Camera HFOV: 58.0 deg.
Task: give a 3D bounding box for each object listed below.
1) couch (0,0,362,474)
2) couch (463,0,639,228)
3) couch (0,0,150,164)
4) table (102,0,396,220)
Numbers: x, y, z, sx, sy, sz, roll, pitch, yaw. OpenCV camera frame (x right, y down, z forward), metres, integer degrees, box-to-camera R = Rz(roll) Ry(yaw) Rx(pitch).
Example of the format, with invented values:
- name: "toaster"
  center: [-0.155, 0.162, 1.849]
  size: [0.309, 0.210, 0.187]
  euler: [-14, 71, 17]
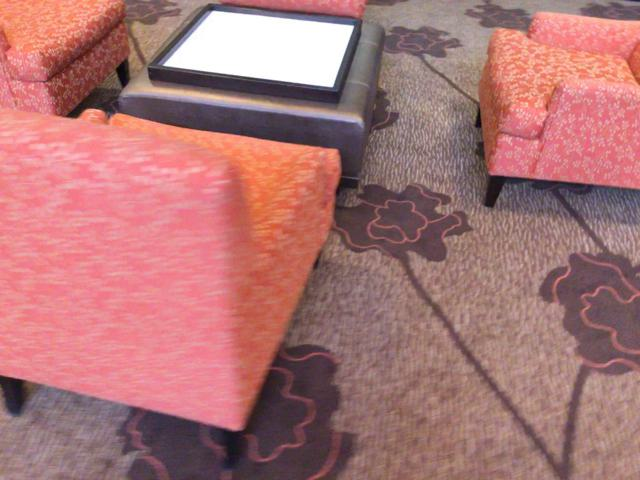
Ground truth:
- name: "couch"
  center: [-0.350, -0.100, 1.450]
  size: [0.770, 0.880, 0.890]
  euler: [7, 43, 3]
- name: "couch"
  center: [1.080, -0.650, 2.160]
  size: [0.850, 0.900, 0.740]
  euler: [7, 43, 3]
- name: "couch"
  center: [-1.320, -0.930, 2.310]
  size: [0.930, 0.870, 0.730]
  euler: [8, 43, 3]
- name: "table"
  center: [-0.210, -0.620, 2.400]
  size: [0.950, 0.460, 0.930]
  euler: [7, 43, 3]
